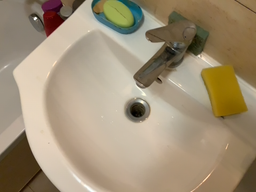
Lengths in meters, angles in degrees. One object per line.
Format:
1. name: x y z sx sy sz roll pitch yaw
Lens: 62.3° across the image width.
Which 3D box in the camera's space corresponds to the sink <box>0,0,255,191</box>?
1. sink: 0.000 0.040 0.480 0.520 0.140 0.390 40 76 11
